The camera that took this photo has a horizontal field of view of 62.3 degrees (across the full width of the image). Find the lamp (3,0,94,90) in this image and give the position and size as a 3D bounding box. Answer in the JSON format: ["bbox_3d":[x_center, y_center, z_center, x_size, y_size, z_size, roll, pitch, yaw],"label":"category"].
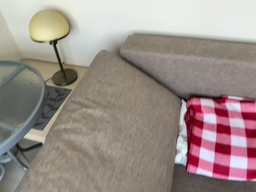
[{"bbox_3d":[-0.390,-0.280,1.140,0.270,0.420,0.220,9,46,15],"label":"lamp"}]
